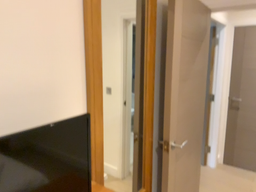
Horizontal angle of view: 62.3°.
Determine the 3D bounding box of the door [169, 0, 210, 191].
[{"bbox_3d":[0.500,0.320,1.740,0.030,2.050,0.800,7,12,29],"label":"door"}]
